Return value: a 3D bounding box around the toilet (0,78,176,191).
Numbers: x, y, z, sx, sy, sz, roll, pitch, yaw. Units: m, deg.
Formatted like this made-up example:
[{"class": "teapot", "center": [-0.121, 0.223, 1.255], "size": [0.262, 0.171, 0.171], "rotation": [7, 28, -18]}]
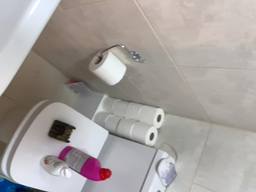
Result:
[{"class": "toilet", "center": [-0.280, 0.270, 1.050], "size": [0.600, 0.770, 0.380], "rotation": [45, 65, -44]}]
